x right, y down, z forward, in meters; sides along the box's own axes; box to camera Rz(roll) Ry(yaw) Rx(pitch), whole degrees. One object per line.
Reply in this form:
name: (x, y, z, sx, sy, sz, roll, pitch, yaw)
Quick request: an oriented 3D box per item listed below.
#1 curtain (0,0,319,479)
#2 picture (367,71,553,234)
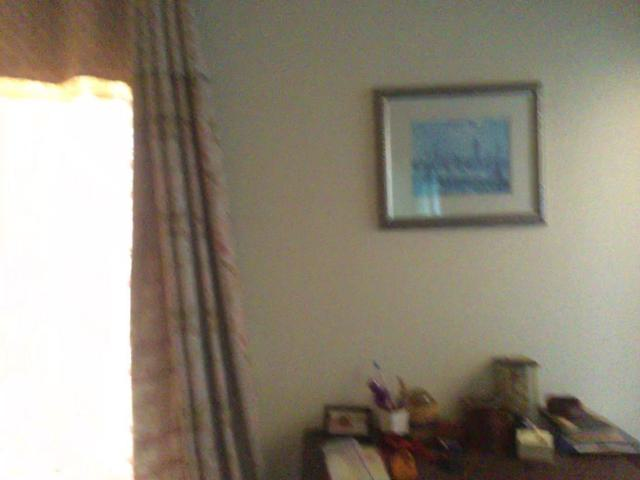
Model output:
curtain: (-1.040, 0.230, 1.720, 2.040, 2.350, 0.470, -2, 4, -2)
picture: (0.470, -0.290, 1.940, 0.610, 0.520, 0.050, -2, 4, -2)
